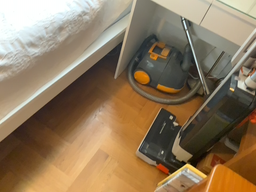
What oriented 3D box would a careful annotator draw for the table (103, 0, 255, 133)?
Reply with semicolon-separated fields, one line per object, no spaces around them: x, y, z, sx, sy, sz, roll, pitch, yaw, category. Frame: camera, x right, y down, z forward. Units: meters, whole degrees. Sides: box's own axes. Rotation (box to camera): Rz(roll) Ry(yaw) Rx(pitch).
0.310;-0.310;1.300;0.650;0.760;0.500;32;51;9;table
